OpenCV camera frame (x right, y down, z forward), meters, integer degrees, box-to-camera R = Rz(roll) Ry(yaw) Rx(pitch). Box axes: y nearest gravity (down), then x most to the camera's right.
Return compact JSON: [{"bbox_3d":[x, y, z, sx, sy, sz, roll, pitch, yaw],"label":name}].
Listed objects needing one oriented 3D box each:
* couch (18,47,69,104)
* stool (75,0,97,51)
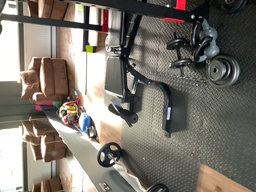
[{"bbox_3d":[-1.920,-0.410,4.730,0.970,0.860,0.990,-21,75,57],"label":"couch"},{"bbox_3d":[-0.640,-1.110,3.200,0.360,0.210,0.810,14,104,57],"label":"stool"}]
